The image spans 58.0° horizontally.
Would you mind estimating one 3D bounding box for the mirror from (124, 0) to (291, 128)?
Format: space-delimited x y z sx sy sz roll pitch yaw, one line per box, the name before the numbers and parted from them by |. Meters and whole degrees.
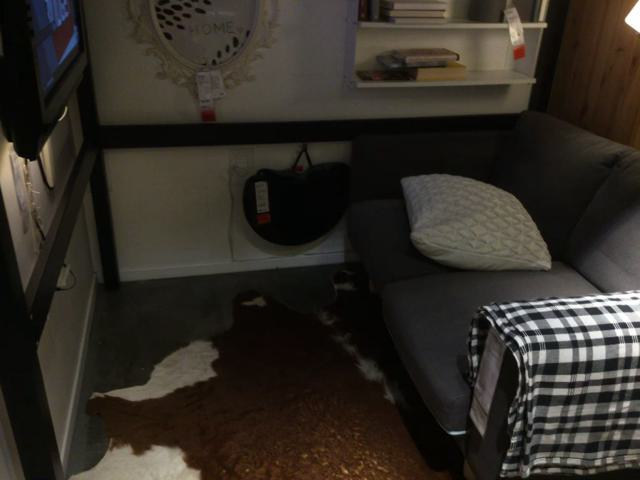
mirror | -0.420 -0.860 2.160 0.580 0.840 0.080 -6 28 -8
